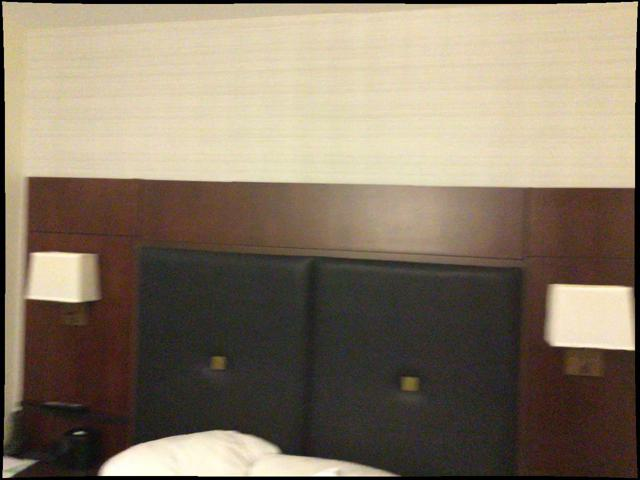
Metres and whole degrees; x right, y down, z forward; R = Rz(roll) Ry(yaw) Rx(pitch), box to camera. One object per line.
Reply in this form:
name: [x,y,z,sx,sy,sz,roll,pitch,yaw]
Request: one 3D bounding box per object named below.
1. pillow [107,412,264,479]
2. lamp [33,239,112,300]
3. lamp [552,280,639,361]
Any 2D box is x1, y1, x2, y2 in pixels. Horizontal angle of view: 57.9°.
pillow: [-0.490,0.821,2.120,0.510,0.240,0.360,2,3,-14]
lamp: [-1.059,0.120,2.480,0.260,0.230,0.170,3,3,14]
lamp: [0.959,0.270,1.980,0.270,0.230,0.160,3,3,14]
